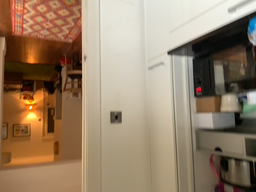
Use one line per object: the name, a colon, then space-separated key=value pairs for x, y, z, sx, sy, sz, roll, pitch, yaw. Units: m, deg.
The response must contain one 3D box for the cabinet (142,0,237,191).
cabinet: x=0.480 y=0.050 z=1.720 sx=0.600 sy=2.040 sz=0.360 roll=2 pitch=174 yaw=-25
